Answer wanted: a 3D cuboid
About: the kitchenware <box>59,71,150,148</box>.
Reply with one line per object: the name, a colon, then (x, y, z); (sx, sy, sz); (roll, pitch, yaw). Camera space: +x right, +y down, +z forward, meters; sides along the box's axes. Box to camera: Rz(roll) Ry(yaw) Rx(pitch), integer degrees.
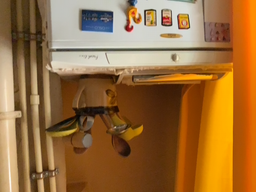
kitchenware: (-0.110, 0.040, 0.900); (0.320, 0.260, 0.290); (-2, -179, -14)
